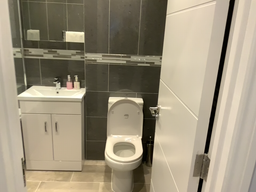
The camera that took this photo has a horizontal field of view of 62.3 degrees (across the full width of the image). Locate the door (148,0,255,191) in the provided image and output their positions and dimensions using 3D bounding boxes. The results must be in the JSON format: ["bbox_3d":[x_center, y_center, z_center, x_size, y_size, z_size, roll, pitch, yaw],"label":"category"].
[{"bbox_3d":[0.250,0.190,1.080,0.050,2.030,0.840,2,17,-4],"label":"door"}]

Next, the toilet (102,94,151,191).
[{"bbox_3d":[-0.040,0.480,2.110,0.380,0.850,0.600,2,17,-3],"label":"toilet"}]
